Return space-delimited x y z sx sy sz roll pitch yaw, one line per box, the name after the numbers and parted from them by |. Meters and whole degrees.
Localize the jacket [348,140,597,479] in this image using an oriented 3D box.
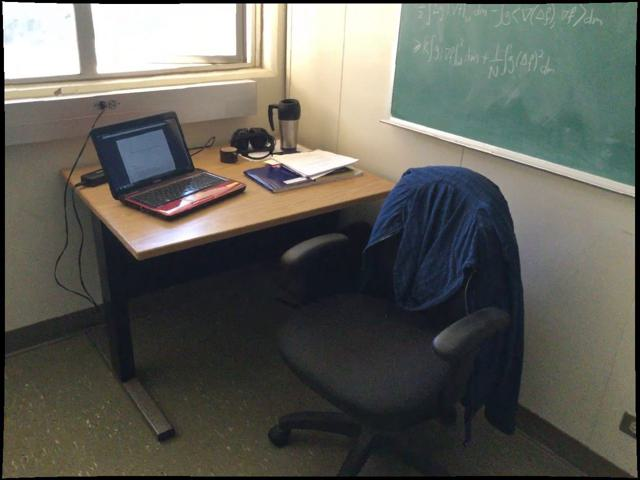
0.409 0.211 1.760 0.359 0.882 0.520 -18 31 -35 | jacket

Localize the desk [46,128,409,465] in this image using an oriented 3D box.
-0.329 0.090 2.160 0.979 0.732 0.809 -18 31 -35 | desk

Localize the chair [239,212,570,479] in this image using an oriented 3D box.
0.209 0.381 1.680 0.619 0.641 0.630 -18 31 -35 | chair
